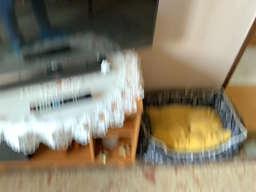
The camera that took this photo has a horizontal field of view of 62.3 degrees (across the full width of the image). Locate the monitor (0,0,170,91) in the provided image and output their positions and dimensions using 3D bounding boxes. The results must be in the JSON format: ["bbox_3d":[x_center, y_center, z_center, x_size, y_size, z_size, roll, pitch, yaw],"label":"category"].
[{"bbox_3d":[-0.220,-0.300,0.790,0.850,0.550,0.030,-15,49,-18],"label":"monitor"}]
